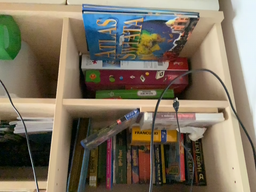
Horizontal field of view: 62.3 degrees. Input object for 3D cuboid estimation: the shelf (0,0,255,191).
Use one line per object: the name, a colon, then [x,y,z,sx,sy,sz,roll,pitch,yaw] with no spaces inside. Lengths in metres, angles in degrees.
shelf: [-0.170,0.060,0.760,0.950,1.080,0.510,2,160,-4]
